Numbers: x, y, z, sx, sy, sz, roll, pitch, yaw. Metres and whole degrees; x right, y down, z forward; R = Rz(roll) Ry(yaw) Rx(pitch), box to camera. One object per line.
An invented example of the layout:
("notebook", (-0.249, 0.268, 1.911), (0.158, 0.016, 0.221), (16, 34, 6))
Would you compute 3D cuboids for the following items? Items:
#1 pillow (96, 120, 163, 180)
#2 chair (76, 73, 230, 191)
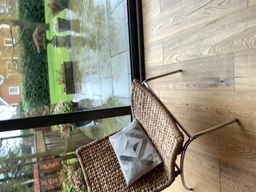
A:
("pillow", (0.020, 0.380, 1.600), (0.440, 0.280, 0.110), (36, 108, 16))
("chair", (0.080, 0.320, 1.520), (0.630, 0.740, 0.710), (-124, 37, -45))
